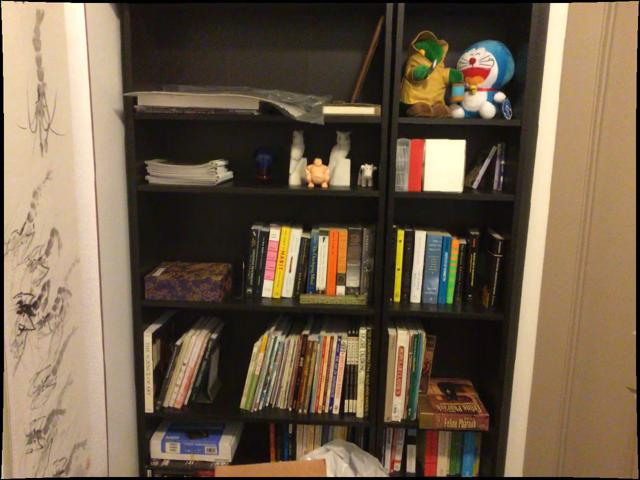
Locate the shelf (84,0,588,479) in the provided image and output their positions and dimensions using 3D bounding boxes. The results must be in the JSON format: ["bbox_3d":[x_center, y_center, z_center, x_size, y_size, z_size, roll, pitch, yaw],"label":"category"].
[{"bbox_3d":[0.010,0.200,1.870,1.267,1.974,0.460,3,13,4],"label":"shelf"}]
